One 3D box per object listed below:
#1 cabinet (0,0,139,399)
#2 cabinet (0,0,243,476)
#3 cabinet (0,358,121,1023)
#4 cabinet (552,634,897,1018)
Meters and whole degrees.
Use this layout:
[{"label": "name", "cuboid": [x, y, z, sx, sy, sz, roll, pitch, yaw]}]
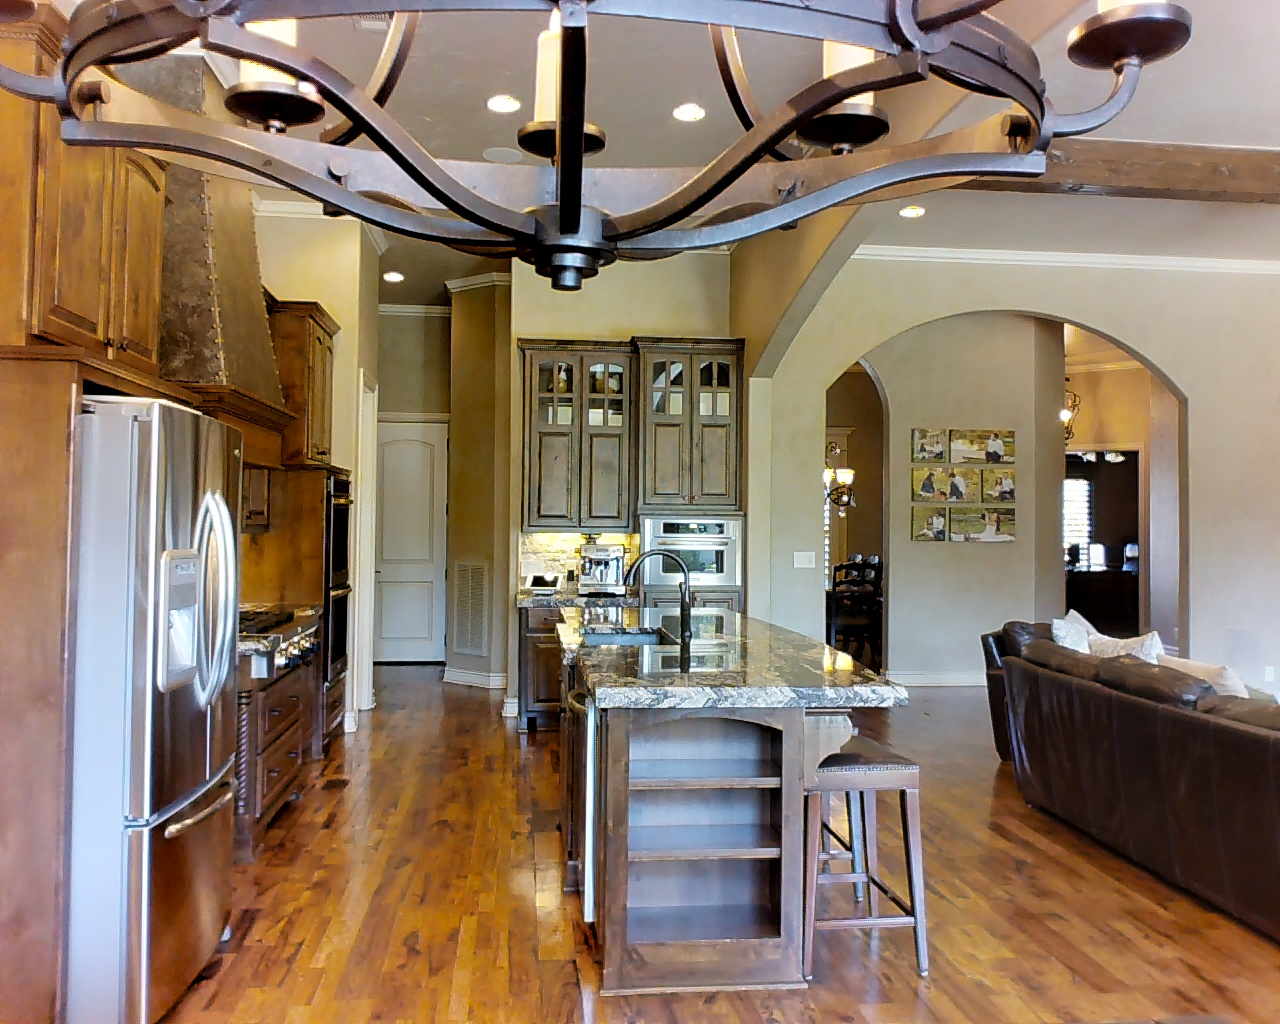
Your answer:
[{"label": "cabinet", "cuboid": [-1.760, -0.820, 2.820, 0.720, 0.990, 0.270, 1, -2, -6]}, {"label": "cabinet", "cuboid": [-1.580, -0.730, 3.390, 0.270, 1.150, 1.300, 1, -2, -6]}, {"label": "cabinet", "cuboid": [-1.760, 0.550, 2.740, 0.740, 1.890, 0.090, 1, -2, -6]}, {"label": "cabinet", "cuboid": [0.150, 1.140, 4.830, 0.990, 0.900, 3.030, 1, -2, -6]}]
